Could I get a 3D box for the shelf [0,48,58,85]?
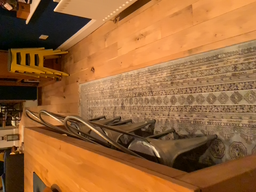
[{"bbox_3d":[-2.460,-0.500,3.720,1.380,2.010,0.420,-4,87,54],"label":"shelf"}]
